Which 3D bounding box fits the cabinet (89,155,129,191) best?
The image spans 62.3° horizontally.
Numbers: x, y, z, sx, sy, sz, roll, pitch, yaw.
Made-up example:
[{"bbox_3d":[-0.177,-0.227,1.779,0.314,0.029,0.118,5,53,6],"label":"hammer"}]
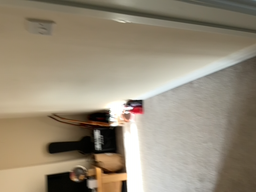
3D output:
[{"bbox_3d":[-0.280,1.550,3.180,0.570,0.420,1.230,151,115,-64],"label":"cabinet"}]
